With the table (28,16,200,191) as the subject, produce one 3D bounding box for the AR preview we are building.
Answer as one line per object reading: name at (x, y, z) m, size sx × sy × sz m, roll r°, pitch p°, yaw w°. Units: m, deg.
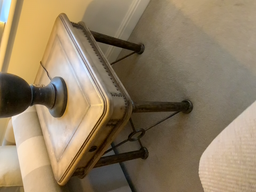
table at (-0.140, 0.040, 1.270) m, size 0.680 × 0.600 × 0.600 m, roll 56°, pitch 127°, yaw 34°
